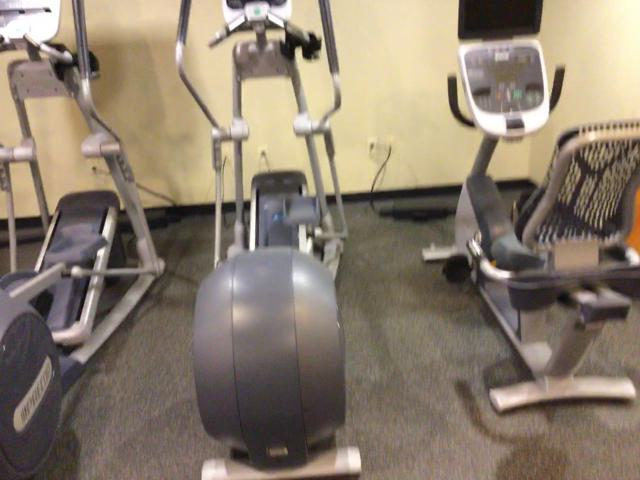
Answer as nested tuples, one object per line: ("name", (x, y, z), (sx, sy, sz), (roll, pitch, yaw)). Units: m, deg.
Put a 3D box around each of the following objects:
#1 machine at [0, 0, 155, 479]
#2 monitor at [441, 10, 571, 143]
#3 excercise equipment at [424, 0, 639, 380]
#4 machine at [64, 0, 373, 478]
("machine", (-1.260, -0.440, 2.150), (0.730, 1.960, 2.180), (-5, 26, -7))
("monitor", (0.770, -0.670, 2.410), (0.350, 0.400, 0.110), (30, 8, -11))
("excercise equipment", (0.800, -0.360, 2.120), (0.630, 1.310, 1.030), (-3, 22, 0))
("machine", (-0.220, -0.380, 2.180), (0.630, 1.670, 1.630), (-4, 24, 0))
